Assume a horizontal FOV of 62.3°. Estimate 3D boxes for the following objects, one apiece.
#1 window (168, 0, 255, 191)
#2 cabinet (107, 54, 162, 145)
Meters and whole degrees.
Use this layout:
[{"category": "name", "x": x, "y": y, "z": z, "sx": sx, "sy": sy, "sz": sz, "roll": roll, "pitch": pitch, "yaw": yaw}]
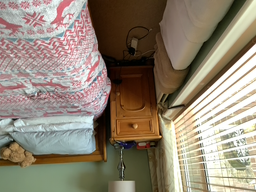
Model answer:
[{"category": "window", "x": 0.530, "y": 0.520, "z": 1.100, "sx": 0.120, "sy": 1.510, "sz": 1.900, "roll": -3, "pitch": 161, "yaw": -1}, {"category": "cabinet", "x": 0.040, "y": 0.060, "z": 2.210, "sx": 0.460, "sy": 0.800, "sz": 0.520, "roll": -3, "pitch": 161, "yaw": -2}]
